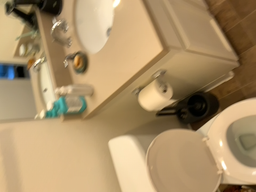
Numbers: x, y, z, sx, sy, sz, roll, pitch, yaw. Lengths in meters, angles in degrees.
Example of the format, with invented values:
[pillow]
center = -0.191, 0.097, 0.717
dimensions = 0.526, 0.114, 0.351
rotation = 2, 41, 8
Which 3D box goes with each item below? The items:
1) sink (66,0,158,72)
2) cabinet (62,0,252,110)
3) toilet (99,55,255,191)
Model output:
[sink]
center = -0.110, -0.410, 1.070
dimensions = 0.370, 0.190, 0.430
rotation = -37, 63, 43
[cabinet]
center = 0.160, -0.390, 1.310
dimensions = 0.550, 0.810, 0.750
rotation = -37, 63, 43
[toilet]
center = 0.450, 0.260, 1.000
dimensions = 0.760, 0.810, 0.440
rotation = -39, 63, 42
